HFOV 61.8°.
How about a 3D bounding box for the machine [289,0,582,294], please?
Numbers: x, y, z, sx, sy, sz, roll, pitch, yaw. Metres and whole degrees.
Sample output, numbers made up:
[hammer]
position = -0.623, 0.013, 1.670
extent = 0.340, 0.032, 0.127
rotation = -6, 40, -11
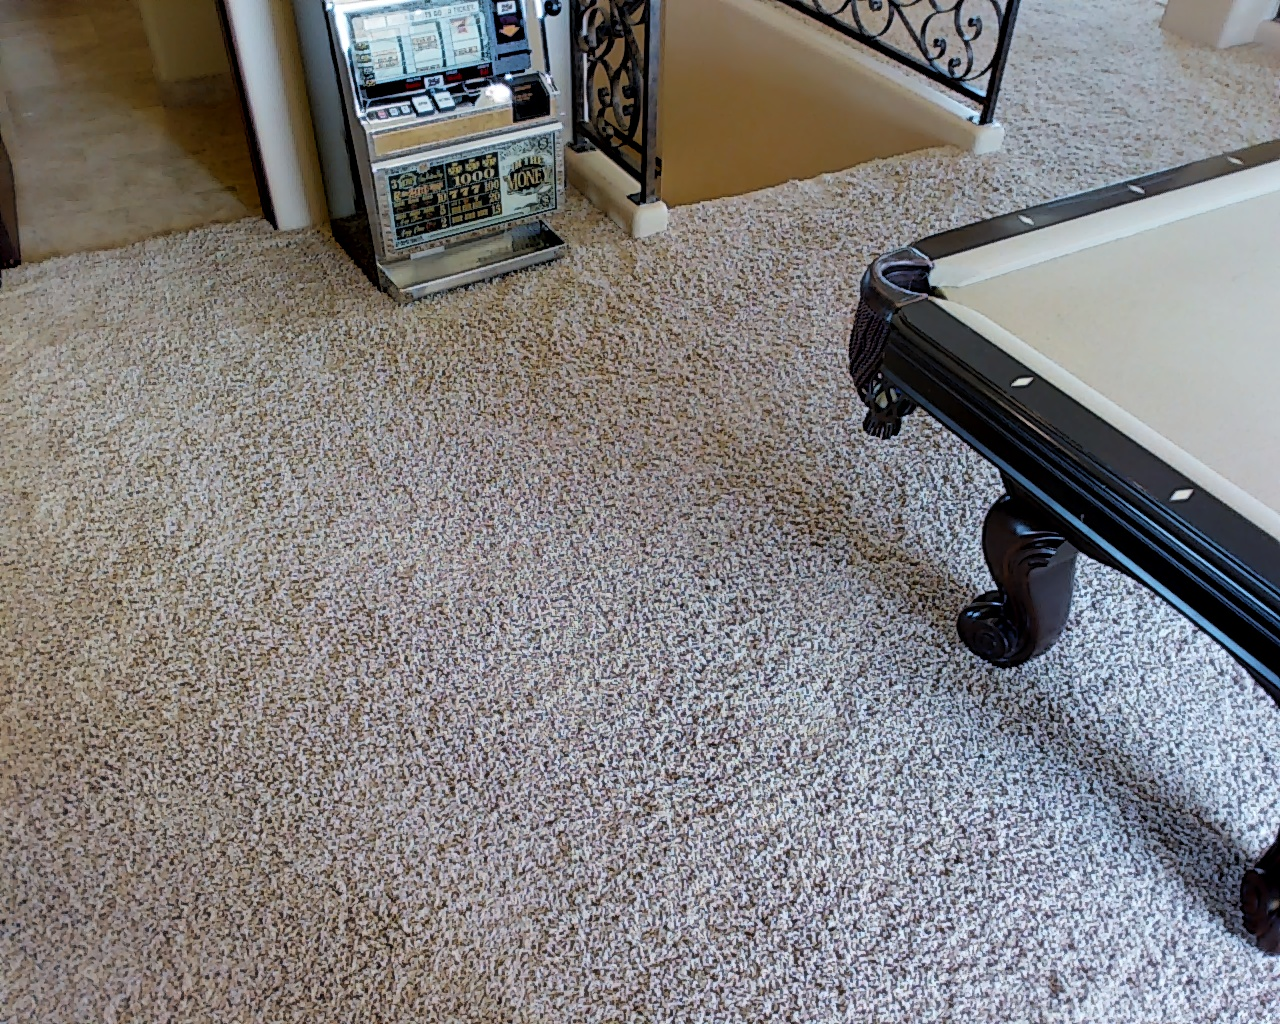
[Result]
[machine]
position = -0.550, -1.289, 2.800
extent = 0.580, 1.170, 0.590
rotation = -19, 46, -21
